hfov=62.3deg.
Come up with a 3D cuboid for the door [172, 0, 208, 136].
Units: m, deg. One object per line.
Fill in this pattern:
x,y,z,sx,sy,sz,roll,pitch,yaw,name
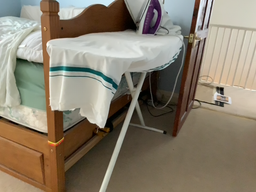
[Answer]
0.590,-0.680,1.720,0.040,1.960,0.670,12,22,18,door
